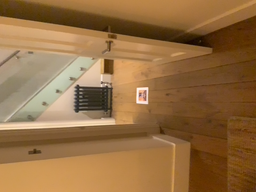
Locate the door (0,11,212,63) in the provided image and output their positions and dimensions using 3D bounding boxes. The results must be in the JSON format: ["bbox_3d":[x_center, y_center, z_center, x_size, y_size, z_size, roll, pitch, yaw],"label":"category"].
[{"bbox_3d":[-0.350,-0.410,1.660,0.760,1.960,0.040,1,90,64],"label":"door"}]
